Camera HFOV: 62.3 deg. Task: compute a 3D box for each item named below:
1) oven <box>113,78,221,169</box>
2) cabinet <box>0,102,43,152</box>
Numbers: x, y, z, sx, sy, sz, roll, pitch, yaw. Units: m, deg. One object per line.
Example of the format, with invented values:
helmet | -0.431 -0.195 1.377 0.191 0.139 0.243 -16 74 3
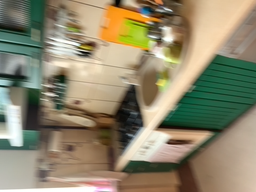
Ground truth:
oven | 0.330 0.330 2.250 0.770 0.730 0.590 118 150 -45
cabinet | -1.200 0.320 2.130 0.430 0.600 0.310 118 150 -45
